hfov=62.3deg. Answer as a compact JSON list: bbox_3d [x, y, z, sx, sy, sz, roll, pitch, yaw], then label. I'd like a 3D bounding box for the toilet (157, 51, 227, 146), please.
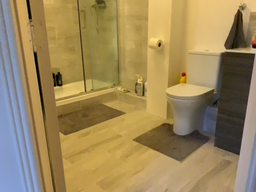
[{"bbox_3d":[0.620,-0.020,2.080,0.550,0.760,0.380,-17,23,-42],"label":"toilet"}]
